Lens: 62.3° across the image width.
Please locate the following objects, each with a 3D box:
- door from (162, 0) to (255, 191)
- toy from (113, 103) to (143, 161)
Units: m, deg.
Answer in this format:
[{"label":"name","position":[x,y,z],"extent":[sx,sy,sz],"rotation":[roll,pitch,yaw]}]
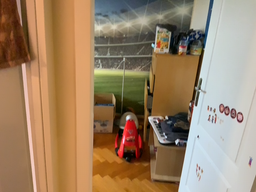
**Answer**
[{"label":"door","position":[0.560,0.050,1.420],"extent":[0.160,1.900,0.990],"rotation":[2,20,-8]},{"label":"toy","position":[0.010,0.440,2.710],"extent":[0.320,0.540,0.490],"rotation":[5,20,2]}]
